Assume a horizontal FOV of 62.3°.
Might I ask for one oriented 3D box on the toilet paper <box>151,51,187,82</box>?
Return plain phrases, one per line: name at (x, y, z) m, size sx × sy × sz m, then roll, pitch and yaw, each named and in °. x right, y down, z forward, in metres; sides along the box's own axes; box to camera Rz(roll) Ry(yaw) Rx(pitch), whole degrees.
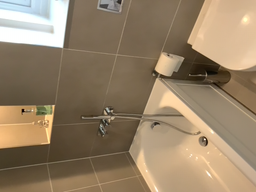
toilet paper at (0.250, -0.180, 1.310) m, size 0.090 × 0.140 × 0.160 m, roll 54°, pitch 134°, yaw 45°
